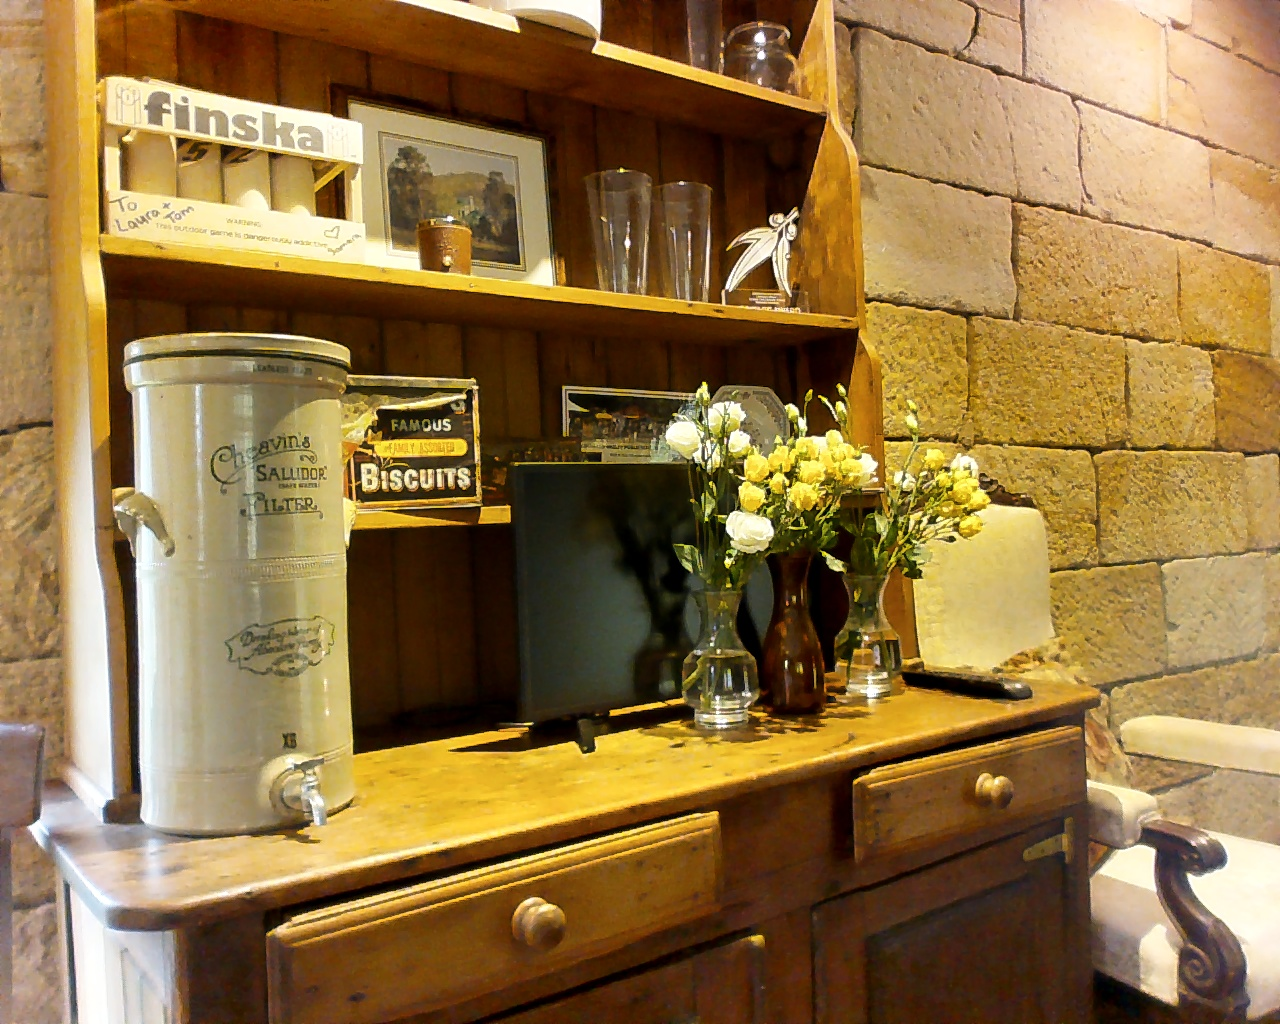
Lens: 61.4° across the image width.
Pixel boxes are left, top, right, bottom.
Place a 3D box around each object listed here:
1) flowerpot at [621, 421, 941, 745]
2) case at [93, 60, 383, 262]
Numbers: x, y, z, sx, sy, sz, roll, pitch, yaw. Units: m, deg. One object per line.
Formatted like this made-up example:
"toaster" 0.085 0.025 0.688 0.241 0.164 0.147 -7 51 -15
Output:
"flowerpot" 0.220 0.090 1.620 0.460 0.420 0.210 -1 1 -37
"case" -0.510 -0.430 1.370 0.300 0.150 0.200 -1 1 -37
